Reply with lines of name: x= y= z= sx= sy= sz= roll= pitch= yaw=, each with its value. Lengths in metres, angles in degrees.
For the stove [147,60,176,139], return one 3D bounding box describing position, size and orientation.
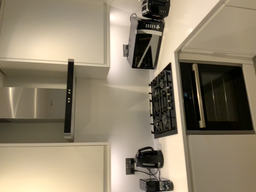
stove: x=0.280 y=0.060 z=1.900 sx=0.510 sy=0.040 sz=0.600 roll=130 pitch=140 yaw=-70
